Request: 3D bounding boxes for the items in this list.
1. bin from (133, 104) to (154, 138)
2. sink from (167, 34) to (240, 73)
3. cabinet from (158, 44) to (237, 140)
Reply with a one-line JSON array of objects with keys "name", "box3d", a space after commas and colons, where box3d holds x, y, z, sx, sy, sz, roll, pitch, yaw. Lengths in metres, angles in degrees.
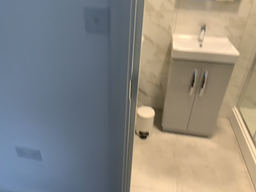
[{"name": "bin", "box3d": [0.150, 0.240, 2.040, 0.170, 0.250, 0.190, 6, 31, 4]}, {"name": "sink", "box3d": [0.610, -0.380, 1.830, 0.520, 0.150, 0.420, 7, 32, 6]}, {"name": "cabinet", "box3d": [0.600, -0.040, 2.040, 0.510, 0.770, 0.410, 7, 32, 6]}]
